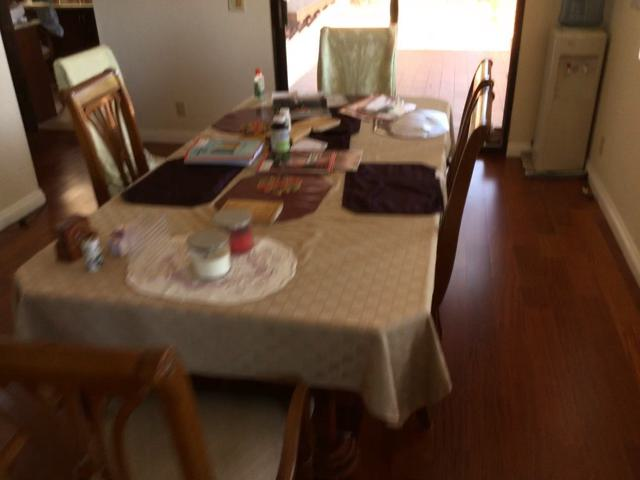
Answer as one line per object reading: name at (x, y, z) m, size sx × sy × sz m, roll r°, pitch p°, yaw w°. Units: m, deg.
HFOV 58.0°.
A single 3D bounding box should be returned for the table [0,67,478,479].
table at (-0.070, -0.020, 2.330) m, size 1.210 × 0.900 × 2.160 m, roll 5°, pitch 28°, yaw 11°
